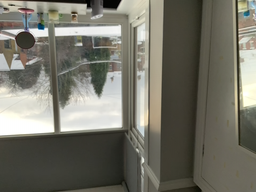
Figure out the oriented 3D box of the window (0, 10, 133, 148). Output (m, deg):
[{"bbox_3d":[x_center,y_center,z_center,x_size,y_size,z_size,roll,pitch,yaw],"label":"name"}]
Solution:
[{"bbox_3d":[-1.240,-0.170,2.340,2.580,1.410,0.340,-2,-170,-12],"label":"window"}]
